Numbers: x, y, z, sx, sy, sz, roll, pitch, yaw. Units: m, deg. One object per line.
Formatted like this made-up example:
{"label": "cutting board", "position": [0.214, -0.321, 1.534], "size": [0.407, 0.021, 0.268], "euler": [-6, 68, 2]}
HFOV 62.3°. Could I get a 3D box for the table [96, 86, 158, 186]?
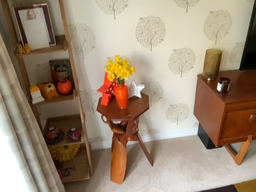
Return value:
{"label": "table", "position": [-0.010, 0.320, 1.710], "size": [0.390, 0.660, 0.390], "euler": [-7, 32, -6]}
